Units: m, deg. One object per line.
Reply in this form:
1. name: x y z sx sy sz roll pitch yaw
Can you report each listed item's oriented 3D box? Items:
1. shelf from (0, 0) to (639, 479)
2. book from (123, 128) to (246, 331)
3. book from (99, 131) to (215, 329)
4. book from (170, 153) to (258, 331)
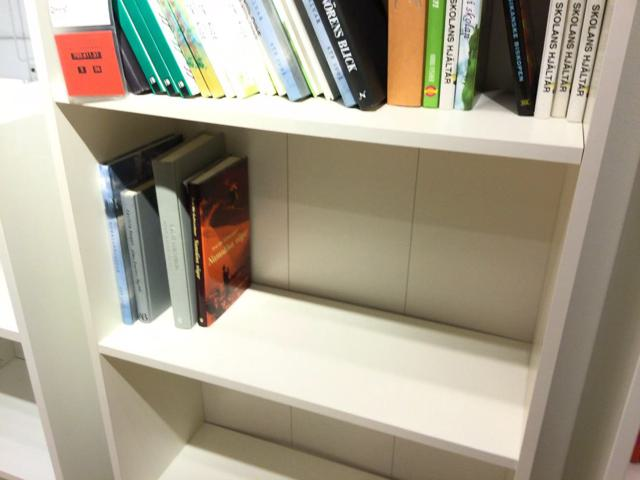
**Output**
1. shelf: -0.020 0.020 0.760 0.650 1.790 0.270 10 28 19
2. book: -0.190 -0.020 0.860 0.080 0.250 0.160 10 28 19
3. book: -0.230 -0.020 0.860 0.040 0.240 0.180 10 28 19
4. book: -0.150 0.000 0.860 0.040 0.220 0.150 10 28 19
